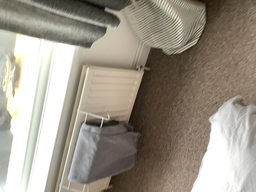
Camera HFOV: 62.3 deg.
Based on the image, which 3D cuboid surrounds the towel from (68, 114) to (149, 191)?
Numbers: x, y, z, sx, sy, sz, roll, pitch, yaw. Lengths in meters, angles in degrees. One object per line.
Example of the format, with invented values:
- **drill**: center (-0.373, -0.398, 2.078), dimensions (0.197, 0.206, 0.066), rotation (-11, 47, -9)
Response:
- **towel**: center (-0.130, 0.390, 1.590), dimensions (0.130, 0.540, 0.470), rotation (29, 110, 39)
